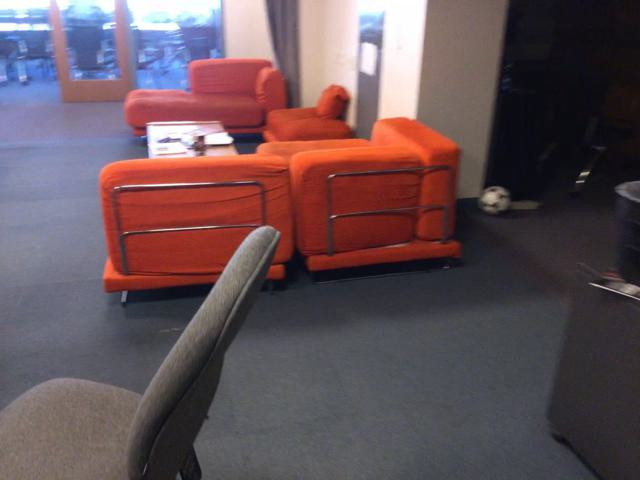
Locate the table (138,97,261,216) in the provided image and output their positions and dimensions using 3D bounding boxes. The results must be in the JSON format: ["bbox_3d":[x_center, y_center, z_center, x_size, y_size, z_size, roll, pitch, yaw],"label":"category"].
[{"bbox_3d":[-0.920,-0.680,4.360,0.760,0.420,1.340,-4,29,-13],"label":"table"}]

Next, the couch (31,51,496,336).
[{"bbox_3d":[-0.360,-0.440,3.350,1.940,0.940,1.670,-4,29,-13],"label":"couch"}]

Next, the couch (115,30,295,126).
[{"bbox_3d":[-1.080,-1.580,5.560,1.520,0.670,0.940,-4,29,-13],"label":"couch"}]
